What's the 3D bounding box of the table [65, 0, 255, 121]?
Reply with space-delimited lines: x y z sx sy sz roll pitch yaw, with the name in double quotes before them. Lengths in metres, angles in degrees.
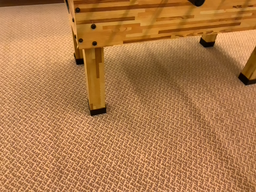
"table" 0.300 -0.530 1.420 1.330 0.850 0.820 -9 46 -15
